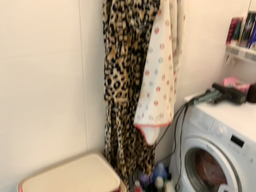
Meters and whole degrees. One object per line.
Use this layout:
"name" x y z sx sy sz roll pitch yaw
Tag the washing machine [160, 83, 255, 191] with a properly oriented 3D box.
"washing machine" 0.690 0.460 1.430 0.650 0.840 0.550 -14 33 -29
